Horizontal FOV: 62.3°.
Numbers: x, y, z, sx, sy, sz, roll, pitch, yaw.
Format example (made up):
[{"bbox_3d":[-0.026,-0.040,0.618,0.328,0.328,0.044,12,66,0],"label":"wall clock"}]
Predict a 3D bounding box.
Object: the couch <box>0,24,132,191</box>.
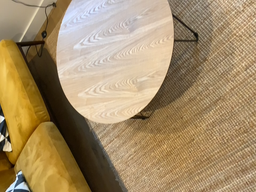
[{"bbox_3d":[-0.790,0.430,1.540,0.910,0.730,1.790,-44,66,27],"label":"couch"}]
